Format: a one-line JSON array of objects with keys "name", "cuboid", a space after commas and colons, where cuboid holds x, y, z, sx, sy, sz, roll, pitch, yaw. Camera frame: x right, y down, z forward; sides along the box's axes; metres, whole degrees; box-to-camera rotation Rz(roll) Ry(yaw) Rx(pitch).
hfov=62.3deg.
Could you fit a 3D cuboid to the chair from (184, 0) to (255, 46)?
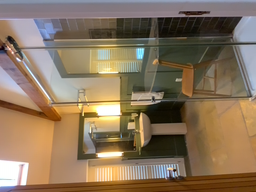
[{"name": "chair", "cuboid": [1.050, -0.810, 2.100, 0.450, 0.790, 0.510, -99, 9, -60]}]
